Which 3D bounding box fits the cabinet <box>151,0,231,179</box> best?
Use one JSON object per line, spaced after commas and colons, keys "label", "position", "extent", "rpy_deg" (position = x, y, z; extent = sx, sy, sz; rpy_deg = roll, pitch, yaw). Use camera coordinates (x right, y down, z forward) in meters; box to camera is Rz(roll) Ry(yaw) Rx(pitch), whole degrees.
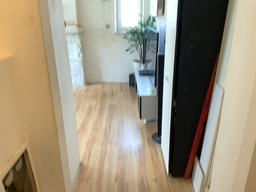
{"label": "cabinet", "position": [0.500, -0.160, 1.980], "extent": [0.460, 1.860, 0.530], "rpy_deg": [0, 21, 0]}

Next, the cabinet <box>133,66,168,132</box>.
{"label": "cabinet", "position": [0.310, -0.060, 3.580], "extent": [0.410, 0.540, 1.670], "rpy_deg": [0, 21, 0]}
